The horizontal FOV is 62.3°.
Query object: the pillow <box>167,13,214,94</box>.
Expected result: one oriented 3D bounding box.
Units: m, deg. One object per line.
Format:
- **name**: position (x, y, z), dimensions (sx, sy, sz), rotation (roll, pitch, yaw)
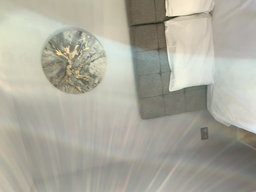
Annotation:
- **pillow**: position (0.580, -0.380, 2.000), dimensions (0.150, 0.390, 0.700), rotation (-59, -34, -72)
